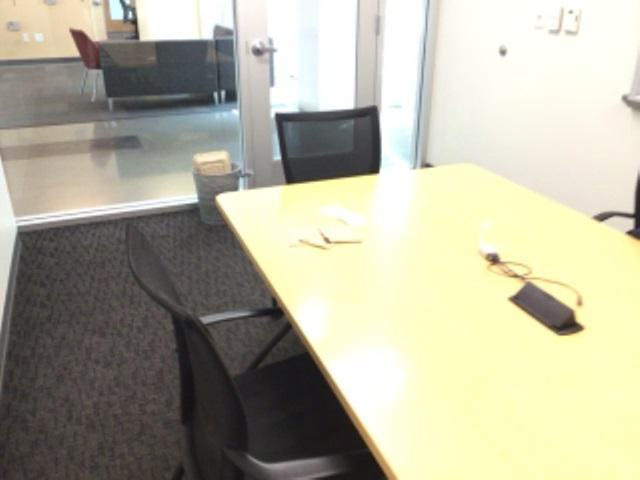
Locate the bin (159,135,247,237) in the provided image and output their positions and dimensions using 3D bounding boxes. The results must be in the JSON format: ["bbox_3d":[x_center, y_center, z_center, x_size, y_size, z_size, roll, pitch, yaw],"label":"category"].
[{"bbox_3d":[-0.690,-0.330,3.420,0.410,0.470,0.340,-10,26,-20],"label":"bin"}]

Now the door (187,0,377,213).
[{"bbox_3d":[-0.210,-1.630,3.370,1.120,2.900,0.240,-10,26,-21],"label":"door"}]

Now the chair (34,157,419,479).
[{"bbox_3d":[-0.210,0.380,1.260,0.550,0.930,0.600,-10,26,-20],"label":"chair"}]
